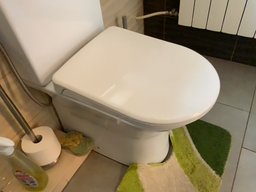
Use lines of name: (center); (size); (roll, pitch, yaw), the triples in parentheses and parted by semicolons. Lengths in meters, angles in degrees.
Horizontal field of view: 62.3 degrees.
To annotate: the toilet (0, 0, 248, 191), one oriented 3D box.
toilet: (-0.020, -0.090, 0.730); (0.610, 0.790, 0.380); (20, 52, 23)
